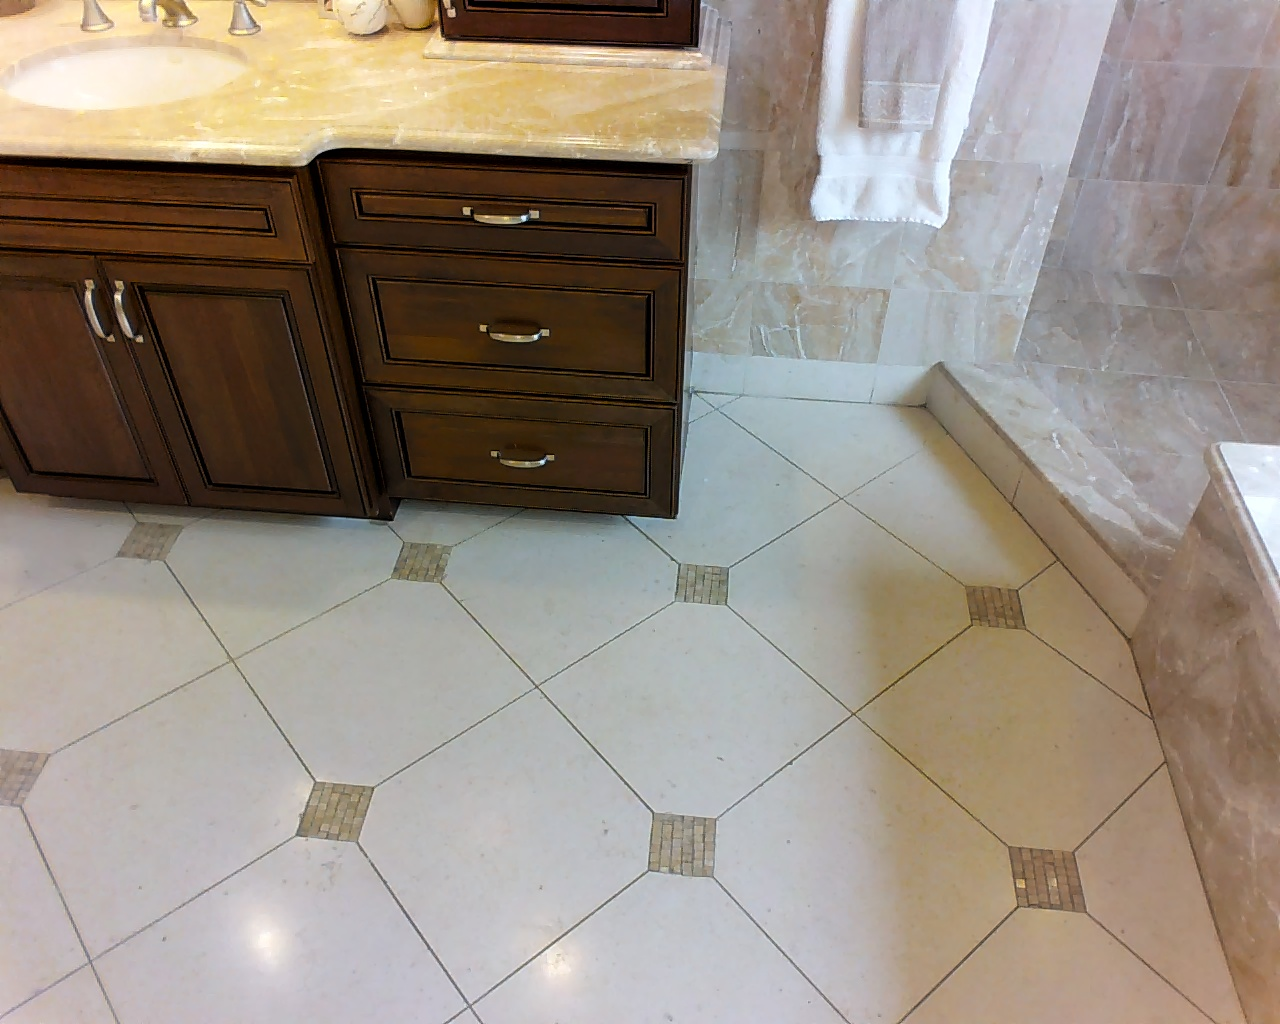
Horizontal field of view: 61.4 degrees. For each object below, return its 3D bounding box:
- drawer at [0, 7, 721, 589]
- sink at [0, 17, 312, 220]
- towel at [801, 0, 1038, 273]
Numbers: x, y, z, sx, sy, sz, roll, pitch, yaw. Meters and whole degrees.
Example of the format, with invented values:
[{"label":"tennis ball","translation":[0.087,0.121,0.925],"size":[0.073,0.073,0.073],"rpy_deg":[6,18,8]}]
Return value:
[{"label":"drawer","translation":[-0.880,-0.450,2.200],"size":[2.010,0.870,0.630],"rpy_deg":[4,43,4]},{"label":"sink","translation":[-0.880,-0.710,1.920],"size":[0.440,0.190,0.360],"rpy_deg":[6,43,5]},{"label":"towel","translation":[0.510,-0.770,2.040],"size":[0.340,0.600,0.160],"rpy_deg":[5,43,4]}]
